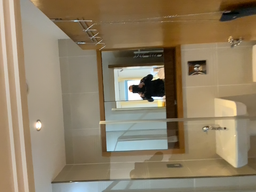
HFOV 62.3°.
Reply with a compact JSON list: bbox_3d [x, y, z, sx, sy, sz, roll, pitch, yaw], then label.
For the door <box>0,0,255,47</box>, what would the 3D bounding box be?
[{"bbox_3d":[0.650,-0.400,1.060,0.810,2.200,0.080,-80,-13,-85],"label":"door"}]
